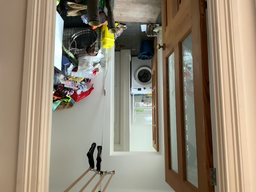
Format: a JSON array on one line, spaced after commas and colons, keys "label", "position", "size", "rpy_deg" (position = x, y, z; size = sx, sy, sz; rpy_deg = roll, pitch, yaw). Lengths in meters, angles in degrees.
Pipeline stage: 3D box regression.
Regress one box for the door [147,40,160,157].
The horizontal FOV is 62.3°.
[{"label": "door", "position": [0.470, 0.050, 4.060], "size": [0.140, 2.050, 0.690], "rpy_deg": [0, 173, 0]}]
